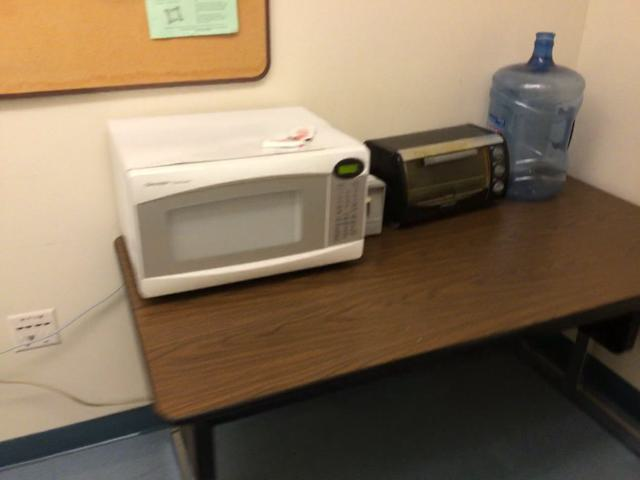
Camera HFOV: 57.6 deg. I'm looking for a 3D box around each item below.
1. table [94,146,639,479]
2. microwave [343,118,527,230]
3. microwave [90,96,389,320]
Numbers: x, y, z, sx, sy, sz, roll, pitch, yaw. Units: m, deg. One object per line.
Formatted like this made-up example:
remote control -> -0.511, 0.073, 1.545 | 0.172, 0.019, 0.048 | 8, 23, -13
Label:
table -> 0.280, 0.200, 1.590 | 1.540, 0.560, 0.820 | -9, 30, -24
microwave -> 0.330, -0.210, 1.720 | 0.430, 0.210, 0.270 | -9, 30, -24
microwave -> -0.210, -0.120, 1.410 | 0.570, 0.330, 0.440 | -9, 30, -24
